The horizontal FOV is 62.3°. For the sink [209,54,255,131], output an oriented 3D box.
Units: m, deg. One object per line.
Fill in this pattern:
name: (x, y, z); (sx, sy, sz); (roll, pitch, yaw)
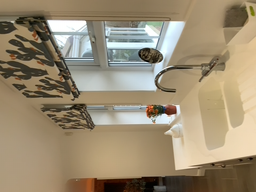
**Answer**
sink: (0.610, -0.010, 1.230); (0.250, 0.120, 0.380); (97, 172, -69)

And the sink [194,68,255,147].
sink: (0.640, 0.090, 1.470); (0.290, 0.200, 0.480); (97, 172, -69)
